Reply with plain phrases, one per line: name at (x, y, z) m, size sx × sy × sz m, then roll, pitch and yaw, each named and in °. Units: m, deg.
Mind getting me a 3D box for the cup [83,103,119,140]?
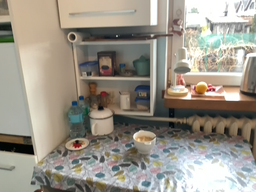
cup at (-0.160, 0.150, 1.310) m, size 0.150 × 0.150 × 0.190 m, roll 4°, pitch 19°, yaw 16°
